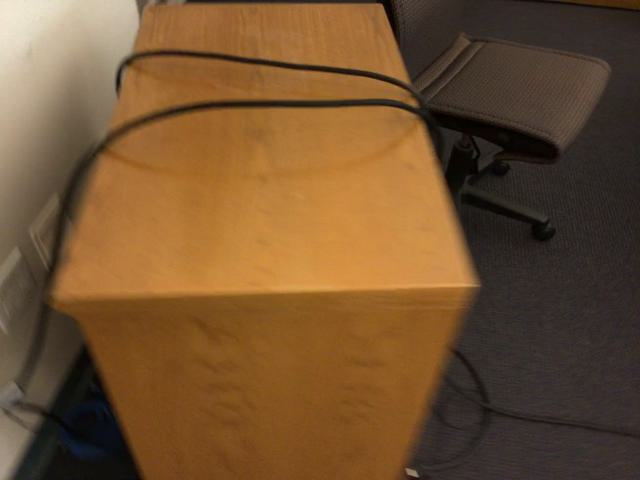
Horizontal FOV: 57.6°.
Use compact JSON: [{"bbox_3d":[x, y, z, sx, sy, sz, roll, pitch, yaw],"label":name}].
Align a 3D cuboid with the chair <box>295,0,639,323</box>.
[{"bbox_3d":[0.420,-0.420,1.630,0.760,0.910,0.610,26,50,23],"label":"chair"}]
